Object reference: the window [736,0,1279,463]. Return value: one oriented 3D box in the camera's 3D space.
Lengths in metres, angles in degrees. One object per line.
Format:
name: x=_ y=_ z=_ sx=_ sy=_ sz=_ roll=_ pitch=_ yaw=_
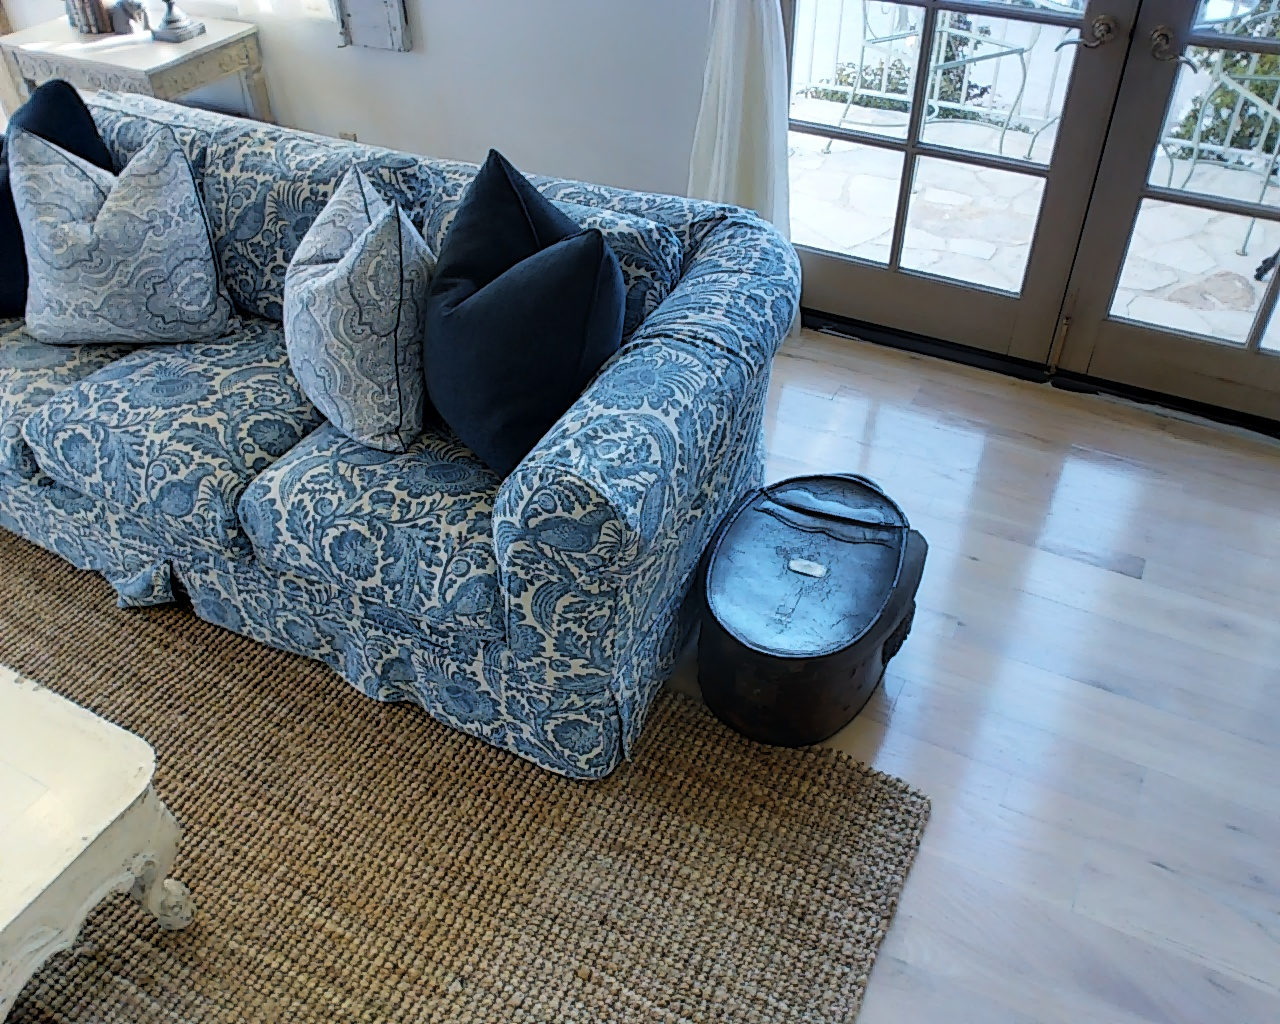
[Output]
window: x=1.070 y=-1.290 z=2.160 sx=1.750 sy=2.470 sz=0.160 roll=18 pitch=44 yaw=22
